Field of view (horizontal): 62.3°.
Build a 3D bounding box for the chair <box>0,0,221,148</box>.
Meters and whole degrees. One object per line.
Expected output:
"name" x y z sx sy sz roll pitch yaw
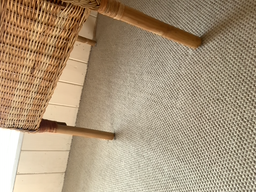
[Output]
"chair" -0.320 -0.260 0.670 0.620 0.760 0.590 -52 41 37
